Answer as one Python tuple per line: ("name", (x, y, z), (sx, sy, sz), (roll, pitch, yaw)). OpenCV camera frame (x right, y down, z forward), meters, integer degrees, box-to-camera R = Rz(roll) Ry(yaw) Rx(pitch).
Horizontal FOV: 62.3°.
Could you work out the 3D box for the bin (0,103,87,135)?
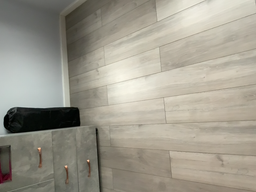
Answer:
("bin", (-0.810, 0.210, 2.090), (0.220, 0.820, 0.250), (-9, 83, 43))
